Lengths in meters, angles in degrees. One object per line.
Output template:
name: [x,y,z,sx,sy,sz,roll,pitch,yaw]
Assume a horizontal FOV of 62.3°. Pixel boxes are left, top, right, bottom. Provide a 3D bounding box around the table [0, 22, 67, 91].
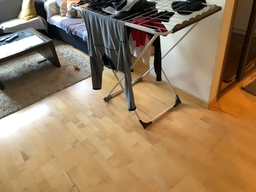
table: [-1.450,-0.590,2.850,0.840,0.390,0.880,-29,43,-27]
